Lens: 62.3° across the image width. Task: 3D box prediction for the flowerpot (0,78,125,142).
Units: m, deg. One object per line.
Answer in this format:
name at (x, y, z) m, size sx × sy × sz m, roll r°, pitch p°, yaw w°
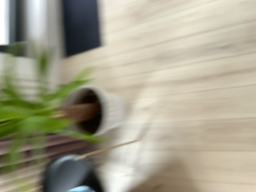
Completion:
flowerpot at (-0.300, 0.070, 0.980) m, size 0.280 × 0.620 × 0.190 m, roll -10°, pitch 83°, yaw 29°
